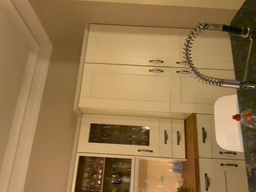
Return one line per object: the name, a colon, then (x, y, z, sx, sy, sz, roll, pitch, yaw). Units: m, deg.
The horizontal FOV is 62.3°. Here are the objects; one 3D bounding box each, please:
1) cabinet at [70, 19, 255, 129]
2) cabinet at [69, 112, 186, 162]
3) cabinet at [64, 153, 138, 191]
cabinet: (0.500, -0.280, 2.980, 0.640, 2.300, 1.220, 95, 178, -70)
cabinet: (0.010, 0.560, 2.820, 0.350, 1.420, 0.510, 95, 178, -70)
cabinet: (-0.330, 1.230, 2.590, 0.310, 0.830, 0.950, 95, 178, -70)
